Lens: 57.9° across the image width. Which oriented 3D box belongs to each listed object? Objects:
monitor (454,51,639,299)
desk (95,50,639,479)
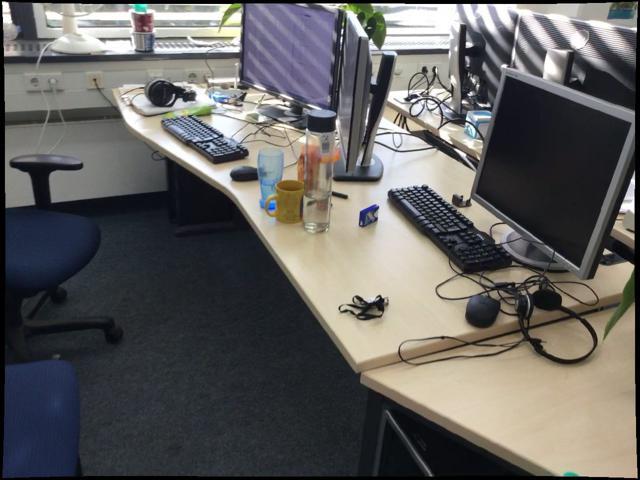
[{"bbox_3d":[0.529,-0.170,1.310,0.140,0.390,0.470,-11,33,-21],"label":"monitor"},{"bbox_3d":[-0.050,-0.070,2.070,1.009,0.670,2.050,-13,34,-24],"label":"desk"}]
